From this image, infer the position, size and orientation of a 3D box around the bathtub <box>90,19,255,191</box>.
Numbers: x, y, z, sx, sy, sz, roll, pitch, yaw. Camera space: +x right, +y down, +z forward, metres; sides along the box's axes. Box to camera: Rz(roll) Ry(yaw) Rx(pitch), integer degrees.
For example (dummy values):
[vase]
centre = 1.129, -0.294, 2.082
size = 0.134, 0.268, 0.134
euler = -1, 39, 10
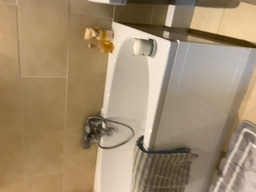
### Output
[bathtub]
centre = 0.160, 0.370, 1.590
size = 0.750, 0.590, 1.660
euler = -134, 48, -56
